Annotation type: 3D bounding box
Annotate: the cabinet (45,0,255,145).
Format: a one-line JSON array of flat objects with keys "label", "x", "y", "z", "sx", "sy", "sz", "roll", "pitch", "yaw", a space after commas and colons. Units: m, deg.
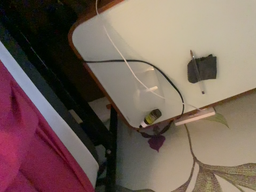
[{"label": "cabinet", "x": 0.170, "y": -0.220, "z": 0.710, "sx": 0.580, "sy": 0.400, "sz": 0.490, "roll": -20, "pitch": 126, "yaw": 13}]
